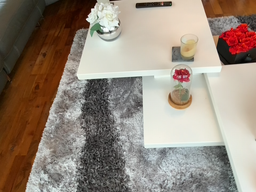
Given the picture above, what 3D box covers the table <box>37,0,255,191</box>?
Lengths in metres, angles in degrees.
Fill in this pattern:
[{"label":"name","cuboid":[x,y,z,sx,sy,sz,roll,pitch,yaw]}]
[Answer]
[{"label":"table","cuboid":[0.410,-0.090,1.130,0.980,0.290,1.790,-39,56,-20]}]
